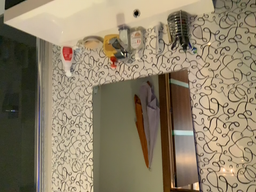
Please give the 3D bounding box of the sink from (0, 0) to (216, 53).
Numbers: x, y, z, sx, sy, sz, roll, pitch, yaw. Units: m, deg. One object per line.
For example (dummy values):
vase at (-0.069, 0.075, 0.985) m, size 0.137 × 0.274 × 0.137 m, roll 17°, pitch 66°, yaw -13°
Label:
sink at (-0.110, -0.380, 0.900) m, size 0.850 × 0.110 × 0.410 m, roll -7°, pitch 171°, yaw 27°
